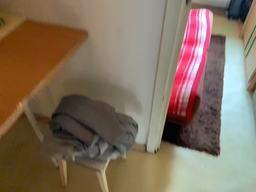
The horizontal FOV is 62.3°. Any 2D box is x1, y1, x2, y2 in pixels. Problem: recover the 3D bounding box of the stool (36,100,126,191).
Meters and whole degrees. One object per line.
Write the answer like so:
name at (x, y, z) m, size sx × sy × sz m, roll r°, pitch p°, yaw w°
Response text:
stool at (-0.220, 0.320, 1.210) m, size 0.330 × 0.420 × 0.330 m, roll 13°, pitch 47°, yaw 12°
